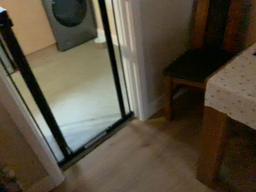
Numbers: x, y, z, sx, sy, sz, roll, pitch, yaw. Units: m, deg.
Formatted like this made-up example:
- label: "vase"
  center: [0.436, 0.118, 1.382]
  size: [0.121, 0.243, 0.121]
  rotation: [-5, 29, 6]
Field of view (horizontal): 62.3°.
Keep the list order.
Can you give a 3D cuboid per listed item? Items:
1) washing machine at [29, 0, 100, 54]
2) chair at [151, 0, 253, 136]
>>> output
- label: "washing machine"
  center: [-0.920, -1.200, 3.040]
  size: [0.650, 0.850, 0.620]
  rotation: [-31, 44, -25]
- label: "chair"
  center: [0.520, -0.330, 1.530]
  size: [0.420, 1.050, 0.570]
  rotation: [23, 49, 32]
